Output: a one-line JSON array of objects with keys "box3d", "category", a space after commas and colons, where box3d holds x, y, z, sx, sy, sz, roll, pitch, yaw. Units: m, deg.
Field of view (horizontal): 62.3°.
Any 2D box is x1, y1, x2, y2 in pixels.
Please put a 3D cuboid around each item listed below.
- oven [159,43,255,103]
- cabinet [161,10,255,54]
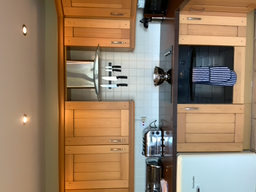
[{"box3d": [0.870, -0.240, 2.450, 0.610, 0.890, 0.590, -150, 60, -84], "category": "oven"}, {"box3d": [0.880, -0.700, 2.430, 0.590, 0.880, 0.330, -150, 60, -84], "category": "cabinet"}]
